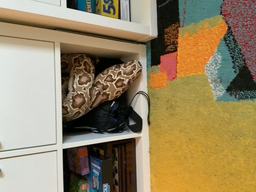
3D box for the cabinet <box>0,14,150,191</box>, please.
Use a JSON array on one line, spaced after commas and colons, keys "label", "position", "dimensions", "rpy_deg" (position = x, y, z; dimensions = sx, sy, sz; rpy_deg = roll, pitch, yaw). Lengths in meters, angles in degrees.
[{"label": "cabinet", "position": [-0.340, 0.170, 0.840], "dimensions": [0.400, 0.760, 0.790], "rpy_deg": [-3, 88, 54]}]
